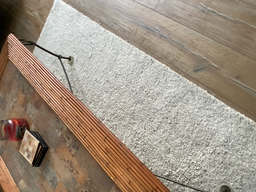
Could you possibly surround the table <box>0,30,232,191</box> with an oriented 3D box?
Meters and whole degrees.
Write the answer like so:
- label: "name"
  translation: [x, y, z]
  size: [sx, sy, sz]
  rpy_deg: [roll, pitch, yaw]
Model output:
- label: "table"
  translation: [-0.250, 0.260, 1.030]
  size: [1.180, 0.420, 0.610]
  rpy_deg: [39, 106, 29]
